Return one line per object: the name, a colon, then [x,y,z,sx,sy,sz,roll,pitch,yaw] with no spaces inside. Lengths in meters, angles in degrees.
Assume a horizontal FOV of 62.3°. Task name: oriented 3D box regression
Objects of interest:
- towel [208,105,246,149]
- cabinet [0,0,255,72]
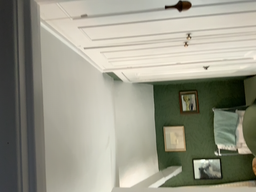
towel: [1.320,0.410,2.850,0.180,0.400,0.550,12,-105,-84]
cabinet: [0.330,-0.370,1.160,1.290,1.310,0.170,25,-119,-83]
